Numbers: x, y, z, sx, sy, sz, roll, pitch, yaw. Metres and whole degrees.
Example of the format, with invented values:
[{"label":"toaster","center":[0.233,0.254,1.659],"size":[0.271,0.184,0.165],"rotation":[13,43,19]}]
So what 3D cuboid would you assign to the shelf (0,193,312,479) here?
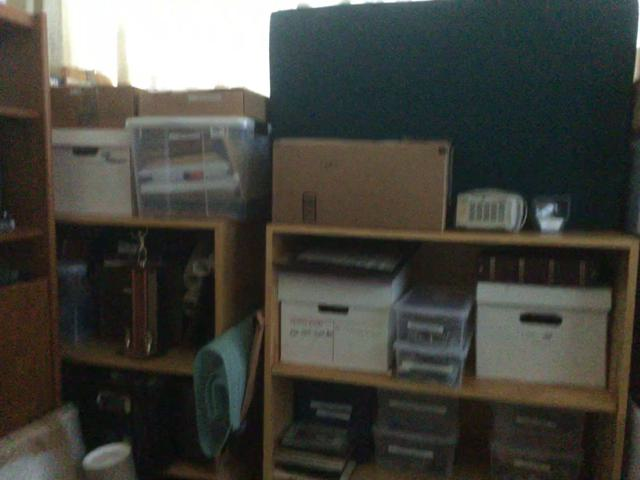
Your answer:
[{"label":"shelf","center":[-0.480,0.320,1.910],"size":[0.780,0.910,0.600],"rotation":[2,8,14]}]

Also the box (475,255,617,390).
[{"label":"box","center":[0.610,0.210,1.640],"size":[0.310,0.260,0.410],"rotation":[2,8,14]}]
